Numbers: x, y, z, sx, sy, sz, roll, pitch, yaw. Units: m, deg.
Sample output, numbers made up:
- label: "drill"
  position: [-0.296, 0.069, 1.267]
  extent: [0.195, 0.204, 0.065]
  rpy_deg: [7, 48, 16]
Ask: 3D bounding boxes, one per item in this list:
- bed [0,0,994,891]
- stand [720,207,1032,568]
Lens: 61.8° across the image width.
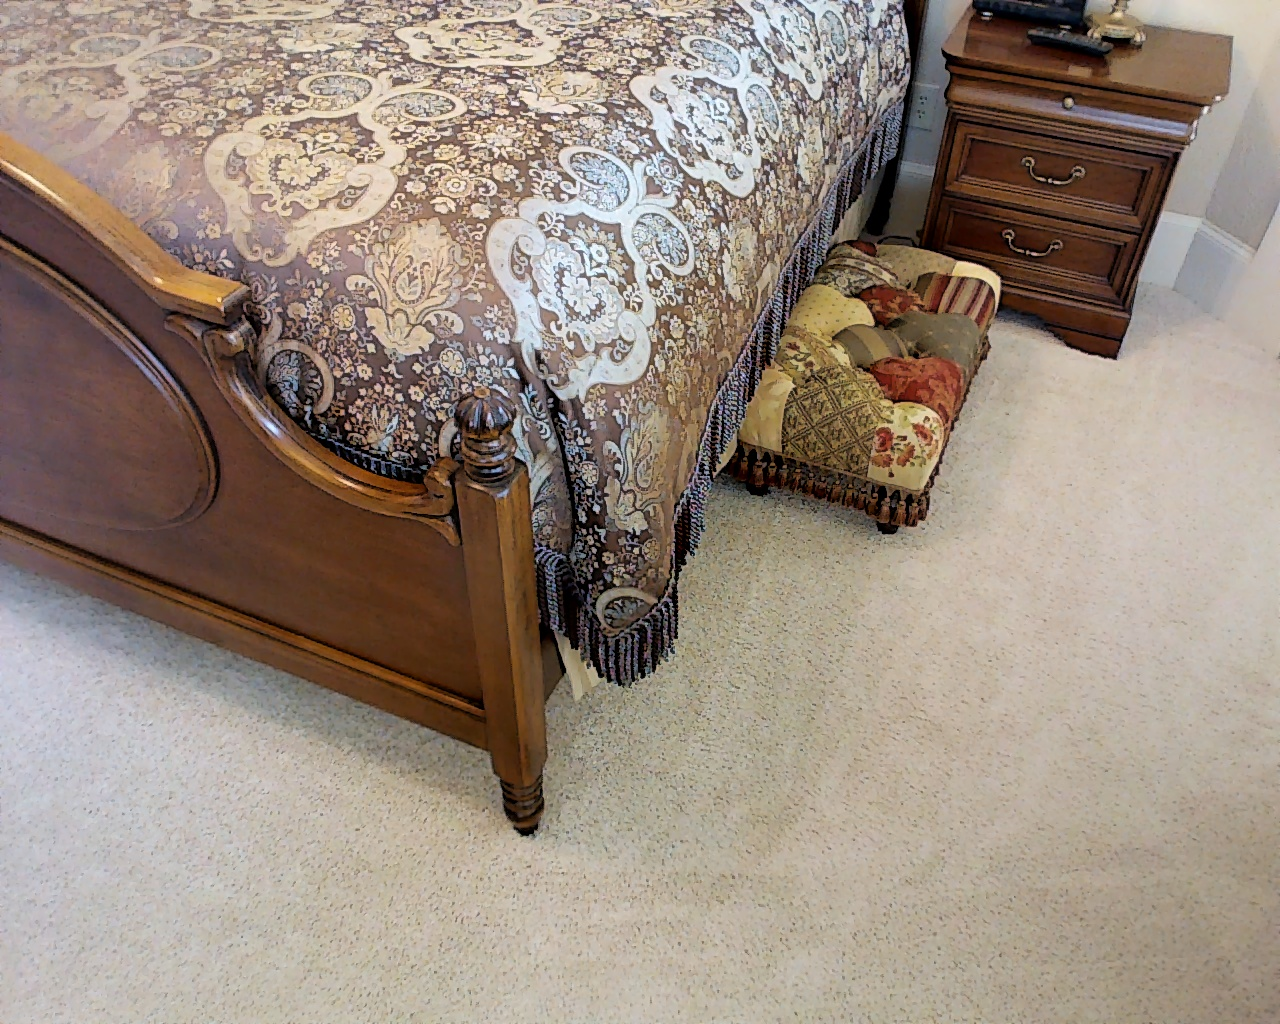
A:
- label: "bed"
  position: [-0.610, -0.810, 2.420]
  extent: [2.290, 1.040, 2.250]
  rpy_deg: [18, 45, 17]
- label: "stand"
  position: [0.550, -0.320, 2.430]
  extent: [0.450, 0.330, 0.810]
  rpy_deg: [18, 46, 17]
